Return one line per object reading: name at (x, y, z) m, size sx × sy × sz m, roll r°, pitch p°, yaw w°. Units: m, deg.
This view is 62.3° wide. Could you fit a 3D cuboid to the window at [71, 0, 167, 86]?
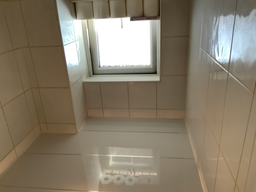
window at (-0.030, -0.370, 1.520) m, size 0.600 × 0.540 × 0.260 m, roll 1°, pitch -157°, yaw 10°
